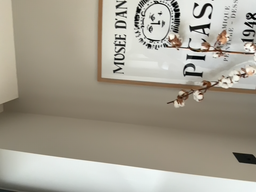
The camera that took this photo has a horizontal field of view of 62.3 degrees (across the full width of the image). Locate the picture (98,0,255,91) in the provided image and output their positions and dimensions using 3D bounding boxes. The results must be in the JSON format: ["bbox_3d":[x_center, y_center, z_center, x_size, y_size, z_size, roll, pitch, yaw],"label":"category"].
[{"bbox_3d":[0.260,-0.350,1.020,0.030,0.800,0.590,-56,-30,-76],"label":"picture"}]
